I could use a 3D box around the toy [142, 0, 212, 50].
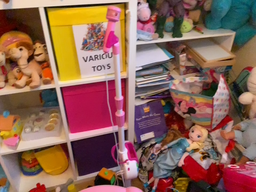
[{"bbox_3d":[0.280,-0.540,1.230,0.330,0.470,0.200,-9,34,-14],"label":"toy"}]

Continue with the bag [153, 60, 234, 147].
[{"bbox_3d":[0.380,0.030,1.280,0.350,0.350,0.270,19,37,25],"label":"bag"}]

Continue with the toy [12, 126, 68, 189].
[{"bbox_3d":[-0.550,0.390,1.380,0.270,0.250,0.240,-8,34,-14],"label":"toy"}]
